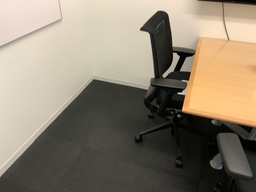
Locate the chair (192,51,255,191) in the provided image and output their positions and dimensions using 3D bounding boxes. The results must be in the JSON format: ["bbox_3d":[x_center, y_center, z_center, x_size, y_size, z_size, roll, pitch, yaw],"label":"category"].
[{"bbox_3d":[0.760,0.410,1.080,0.680,1.020,0.590,11,37,15],"label":"chair"}]

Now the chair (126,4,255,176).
[{"bbox_3d":[0.460,-0.090,1.760,0.730,1.040,0.810,11,37,15],"label":"chair"}]
